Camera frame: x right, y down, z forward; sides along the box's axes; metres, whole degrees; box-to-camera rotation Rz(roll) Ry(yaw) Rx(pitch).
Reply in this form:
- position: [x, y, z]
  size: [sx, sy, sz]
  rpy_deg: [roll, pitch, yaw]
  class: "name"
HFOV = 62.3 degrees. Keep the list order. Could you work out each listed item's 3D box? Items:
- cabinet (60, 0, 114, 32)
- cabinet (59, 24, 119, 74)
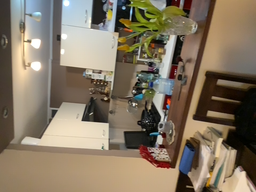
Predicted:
- position: [-0.440, -1.460, 2.530]
  size: [0.370, 0.610, 1.250]
  rpy_deg: [-105, 22, -70]
  class: "cabinet"
- position: [-0.510, -0.630, 2.810]
  size: [0.370, 0.700, 0.520]
  rpy_deg: [-105, 22, -70]
  class: "cabinet"
